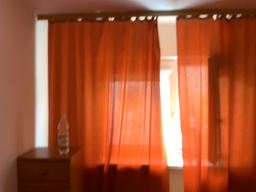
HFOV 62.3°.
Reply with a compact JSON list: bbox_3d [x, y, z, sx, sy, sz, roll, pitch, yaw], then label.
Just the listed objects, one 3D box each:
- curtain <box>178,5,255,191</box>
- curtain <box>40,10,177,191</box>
[{"bbox_3d":[1.130,0.210,2.080,1.200,2.090,0.250,0,1,2],"label":"curtain"},{"bbox_3d":[-0.200,0.230,2.150,1.330,2.130,0.150,0,1,2],"label":"curtain"}]
